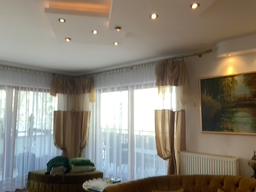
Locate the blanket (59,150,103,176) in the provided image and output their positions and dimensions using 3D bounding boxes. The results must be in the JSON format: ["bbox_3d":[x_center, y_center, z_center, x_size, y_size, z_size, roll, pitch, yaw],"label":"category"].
[{"bbox_3d":[-1.000,1.380,4.470,0.630,0.310,0.740,4,-6,-38],"label":"blanket"}]

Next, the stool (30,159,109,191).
[{"bbox_3d":[-1.210,1.710,4.360,1.210,0.490,1.080,-4,-6,43],"label":"stool"}]

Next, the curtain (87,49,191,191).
[{"bbox_3d":[0.040,0.670,4.090,2.390,2.710,0.150,-4,-6,42],"label":"curtain"}]
